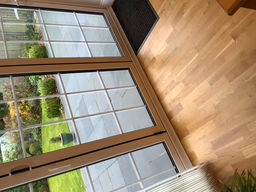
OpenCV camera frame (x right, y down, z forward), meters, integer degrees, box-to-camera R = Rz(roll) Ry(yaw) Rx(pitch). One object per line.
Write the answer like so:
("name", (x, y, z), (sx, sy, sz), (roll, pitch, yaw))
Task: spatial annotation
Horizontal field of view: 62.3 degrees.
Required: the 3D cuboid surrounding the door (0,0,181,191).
("door", (-0.690, -0.170, 1.830), (0.090, 1.980, 1.910), (-50, 56, 50))
